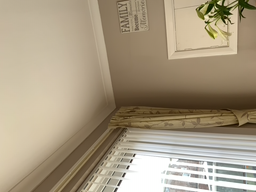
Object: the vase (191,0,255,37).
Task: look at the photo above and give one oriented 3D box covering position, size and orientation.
[{"bbox_3d":[0.720,-0.740,1.410,0.420,0.540,0.580,-43,-51,-61],"label":"vase"}]
